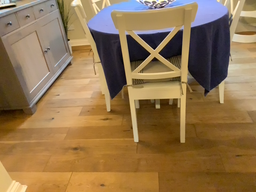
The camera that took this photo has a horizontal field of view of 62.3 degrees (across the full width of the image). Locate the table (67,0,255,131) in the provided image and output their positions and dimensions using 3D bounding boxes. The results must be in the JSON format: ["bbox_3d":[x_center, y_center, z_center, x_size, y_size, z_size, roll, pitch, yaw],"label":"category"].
[{"bbox_3d":[0.250,-0.480,2.100,1.120,0.750,1.520,-4,32,5],"label":"table"}]

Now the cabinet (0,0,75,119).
[{"bbox_3d":[-1.120,-0.500,2.310,0.510,0.860,1.310,-3,32,7],"label":"cabinet"}]
